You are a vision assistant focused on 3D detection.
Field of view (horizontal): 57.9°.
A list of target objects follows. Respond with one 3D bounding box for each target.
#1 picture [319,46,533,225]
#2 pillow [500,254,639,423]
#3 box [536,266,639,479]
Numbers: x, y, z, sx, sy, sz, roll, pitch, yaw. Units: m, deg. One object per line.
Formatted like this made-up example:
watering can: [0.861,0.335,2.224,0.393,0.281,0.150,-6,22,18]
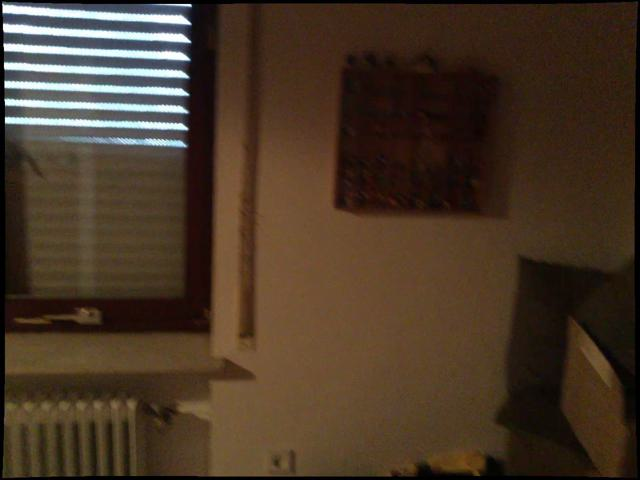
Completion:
picture: [0.300,-0.290,1.680,0.589,0.490,0.050,0,13,-8]
pillow: [0.809,0.290,1.770,0.400,0.460,0.200,0,13,-8]
box: [0.879,0.360,1.500,0.370,0.470,0.480,0,13,-8]
